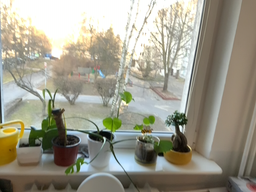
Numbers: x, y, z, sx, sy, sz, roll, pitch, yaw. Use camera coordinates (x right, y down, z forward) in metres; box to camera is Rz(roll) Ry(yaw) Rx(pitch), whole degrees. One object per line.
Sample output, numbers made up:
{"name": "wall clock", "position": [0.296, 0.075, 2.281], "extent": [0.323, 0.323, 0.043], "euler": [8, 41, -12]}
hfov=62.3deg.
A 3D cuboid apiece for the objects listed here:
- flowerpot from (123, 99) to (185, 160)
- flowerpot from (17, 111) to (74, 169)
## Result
{"name": "flowerpot", "position": [0.160, 0.220, 1.470], "extent": [0.310, 0.320, 0.290], "euler": [3, 14, -14]}
{"name": "flowerpot", "position": [-0.490, 0.260, 1.300], "extent": [0.270, 0.260, 0.240], "euler": [4, 14, -9]}
